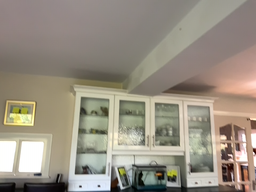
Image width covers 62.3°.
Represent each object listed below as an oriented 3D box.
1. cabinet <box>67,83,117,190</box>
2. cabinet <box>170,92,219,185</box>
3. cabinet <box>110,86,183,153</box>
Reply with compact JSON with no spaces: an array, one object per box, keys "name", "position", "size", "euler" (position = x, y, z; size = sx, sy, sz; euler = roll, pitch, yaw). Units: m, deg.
[{"name":"cabinet","position":[-0.460,0.500,2.740],"size":[0.530,1.240,0.330],"euler":[4,-12,-14]},{"name":"cabinet","position":[0.950,0.600,3.100],"size":[0.530,1.240,0.340],"euler":[4,-12,-14]},{"name":"cabinet","position":[0.250,0.350,2.950],"size":[0.920,0.840,0.350],"euler":[4,-12,-14]}]
